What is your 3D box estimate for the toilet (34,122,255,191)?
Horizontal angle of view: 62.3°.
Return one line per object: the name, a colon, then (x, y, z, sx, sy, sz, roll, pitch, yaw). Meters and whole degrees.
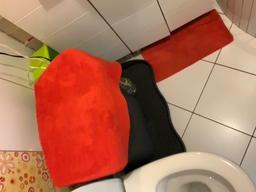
toilet: (0.080, 0.440, 0.790, 0.710, 0.750, 0.360, -24, 69, 15)
